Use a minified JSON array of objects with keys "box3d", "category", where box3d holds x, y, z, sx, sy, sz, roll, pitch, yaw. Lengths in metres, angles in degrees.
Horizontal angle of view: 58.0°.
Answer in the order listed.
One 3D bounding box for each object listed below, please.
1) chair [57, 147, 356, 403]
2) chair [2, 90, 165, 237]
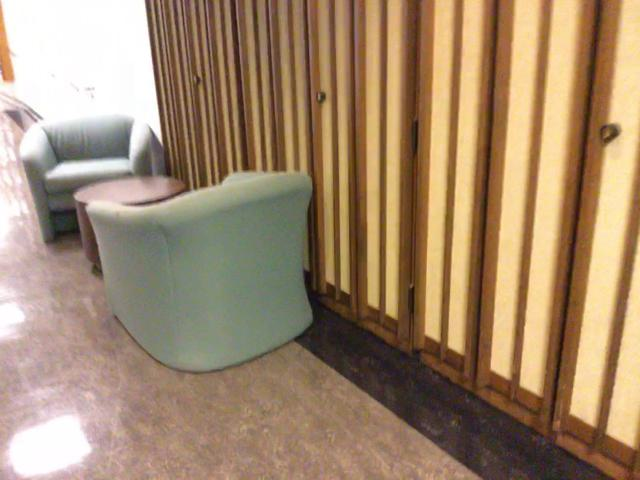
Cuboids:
[{"box3d":[-0.530,0.040,2.700,0.940,0.780,1.010,-13,21,-38],"category":"chair"},{"box3d":[-1.710,-0.610,4.160,0.900,0.870,0.950,-8,18,-26],"category":"chair"}]
